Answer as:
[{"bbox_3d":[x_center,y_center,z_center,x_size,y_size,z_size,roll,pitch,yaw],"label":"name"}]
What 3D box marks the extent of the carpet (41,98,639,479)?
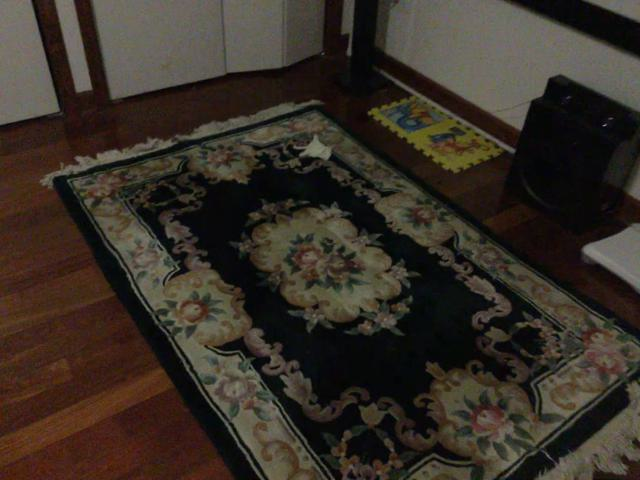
[{"bbox_3d":[0.020,0.090,1.890,1.230,0.060,1.890,-23,48,-29],"label":"carpet"}]
